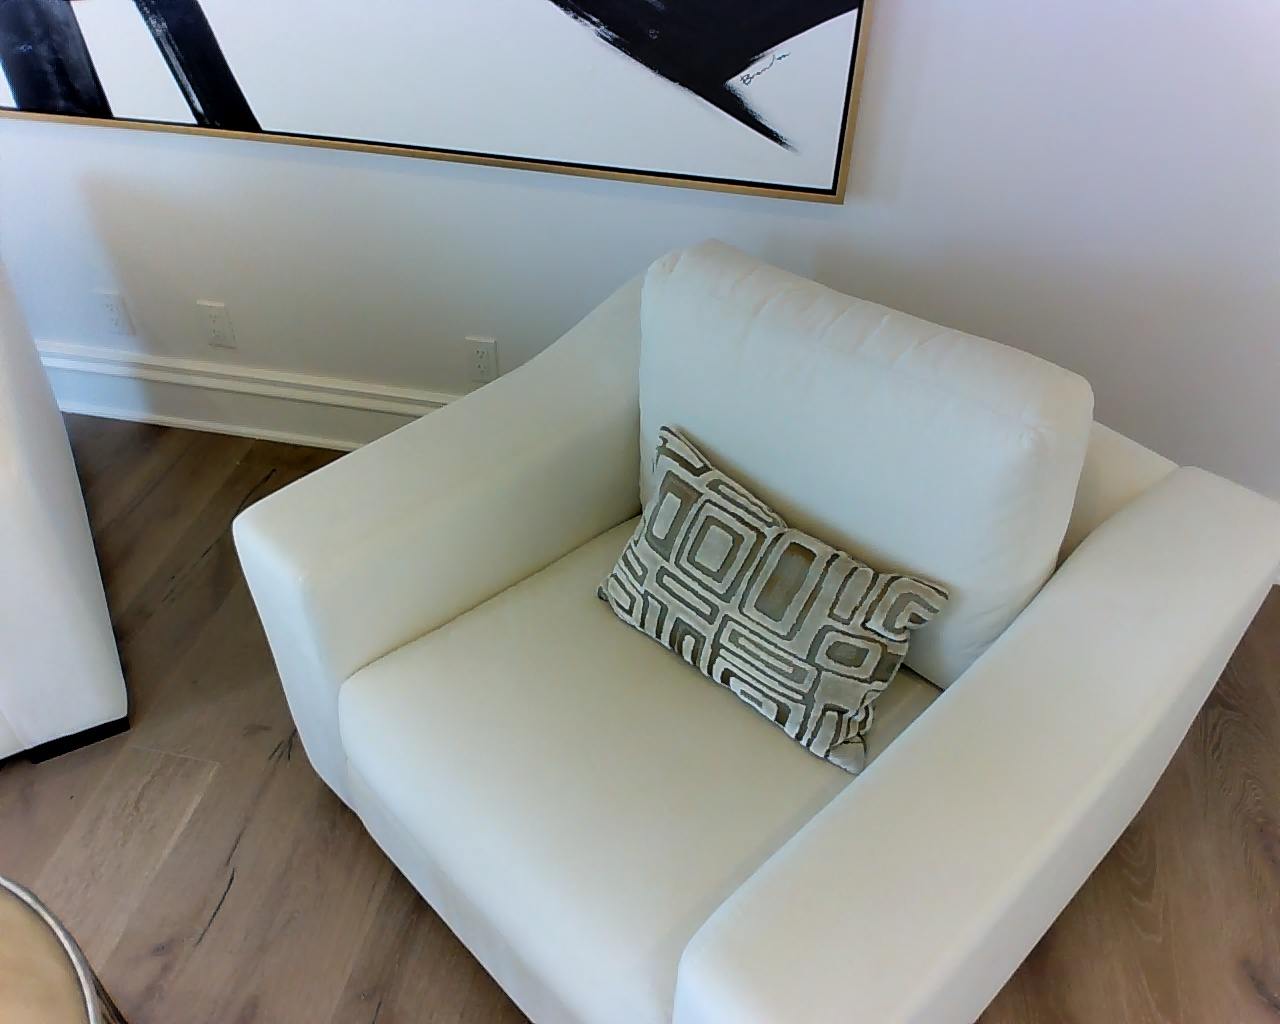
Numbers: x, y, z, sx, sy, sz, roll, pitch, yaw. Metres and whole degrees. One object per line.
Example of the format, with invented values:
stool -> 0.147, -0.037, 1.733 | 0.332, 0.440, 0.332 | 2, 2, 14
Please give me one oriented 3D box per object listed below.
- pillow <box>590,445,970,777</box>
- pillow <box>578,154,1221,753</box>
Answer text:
pillow -> 0.170, 0.110, 1.490 | 0.490, 0.320, 0.140 | 16, 15, 40
pillow -> 0.310, -0.120, 1.570 | 0.750, 0.500, 0.360 | 31, 50, 30
